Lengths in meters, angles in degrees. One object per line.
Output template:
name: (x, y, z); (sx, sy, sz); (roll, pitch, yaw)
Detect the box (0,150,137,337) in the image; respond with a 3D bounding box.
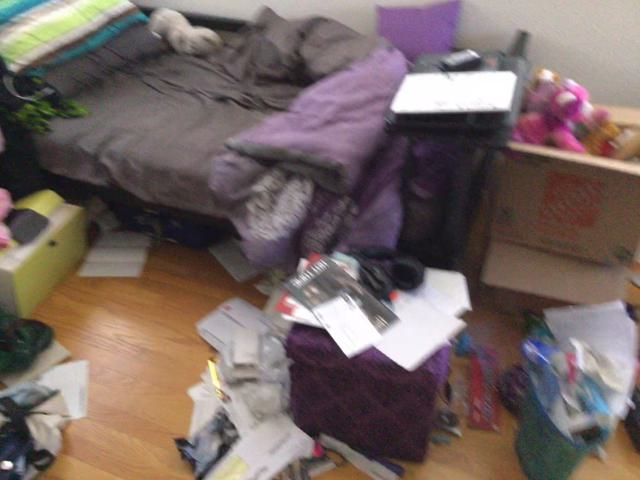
box: (-0.990, -0.020, 2.040); (0.290, 0.350, 0.620); (12, 34, 19)

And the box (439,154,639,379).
box: (0.780, 0.060, 1.860); (0.650, 0.430, 0.460); (12, 34, 19)

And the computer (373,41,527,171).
computer: (0.360, -0.380, 1.560); (0.310, 0.190, 0.410); (12, 34, 19)

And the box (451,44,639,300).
box: (0.820, -0.240, 1.790); (0.650, 0.530, 0.580); (12, 34, 19)

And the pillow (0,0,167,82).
pillow: (-1.040, -0.940, 2.310); (0.480, 0.370, 0.690); (12, 34, 19)
